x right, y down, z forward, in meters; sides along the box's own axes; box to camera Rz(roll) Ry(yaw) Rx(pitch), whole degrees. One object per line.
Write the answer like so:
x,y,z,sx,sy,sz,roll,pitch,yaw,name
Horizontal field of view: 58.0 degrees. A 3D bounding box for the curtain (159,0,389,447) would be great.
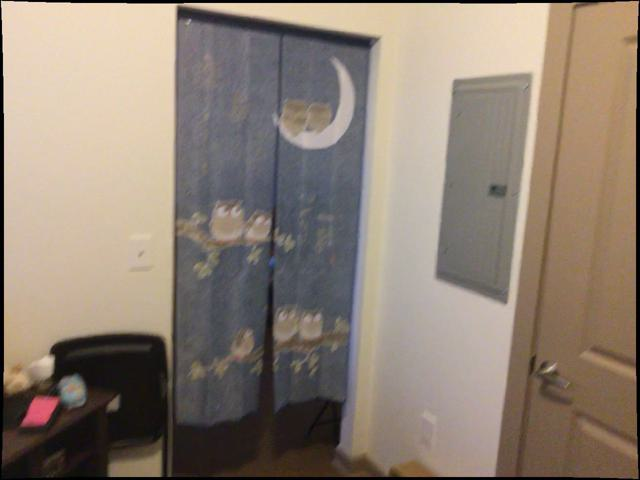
-0.190,-0.040,2.350,0.858,1.654,0.180,-4,15,-28,curtain
